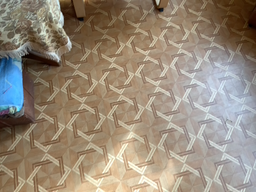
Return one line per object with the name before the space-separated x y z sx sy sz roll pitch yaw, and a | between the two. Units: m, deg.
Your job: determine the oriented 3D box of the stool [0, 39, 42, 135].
stool | -0.710 -0.020 1.140 0.350 0.370 0.370 -8 68 -6
